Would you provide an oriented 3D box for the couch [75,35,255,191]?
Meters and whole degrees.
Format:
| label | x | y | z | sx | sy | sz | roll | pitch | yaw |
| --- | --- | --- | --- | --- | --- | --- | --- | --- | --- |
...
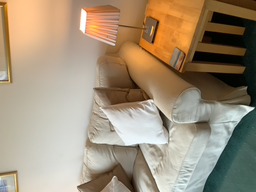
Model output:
| label | x | y | z | sx | sy | sz | roll | pitch | yaw |
| --- | --- | --- | --- | --- | --- | --- | --- | --- | --- |
| couch | 0.100 | 0.520 | 1.860 | 0.920 | 0.790 | 1.780 | -128 | 44 | -51 |

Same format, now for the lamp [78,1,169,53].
| label | x | y | z | sx | sy | sz | roll | pitch | yaw |
| --- | --- | --- | --- | --- | --- | --- | --- | --- | --- |
| lamp | -0.040 | -0.440 | 1.370 | 0.270 | 0.490 | 0.210 | -128 | 44 | -51 |
